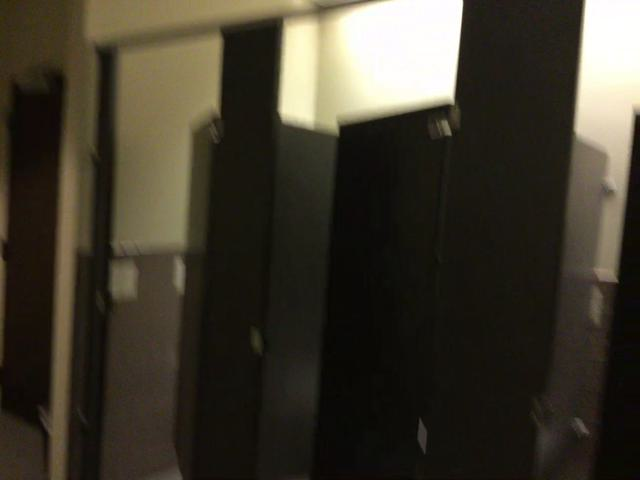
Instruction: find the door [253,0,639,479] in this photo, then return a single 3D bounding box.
[{"bbox_3d":[0.340,0.320,1.680,1.050,2.070,0.330,8,5,37],"label":"door"}]
